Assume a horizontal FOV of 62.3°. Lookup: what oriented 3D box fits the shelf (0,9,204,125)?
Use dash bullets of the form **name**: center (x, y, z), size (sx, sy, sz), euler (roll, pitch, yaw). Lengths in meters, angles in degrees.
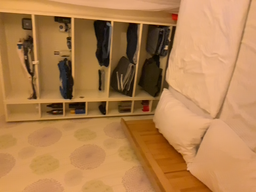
- **shelf**: center (-0.240, -0.280, 2.250), size (0.270, 2.030, 1.020), euler (-129, 41, -61)
